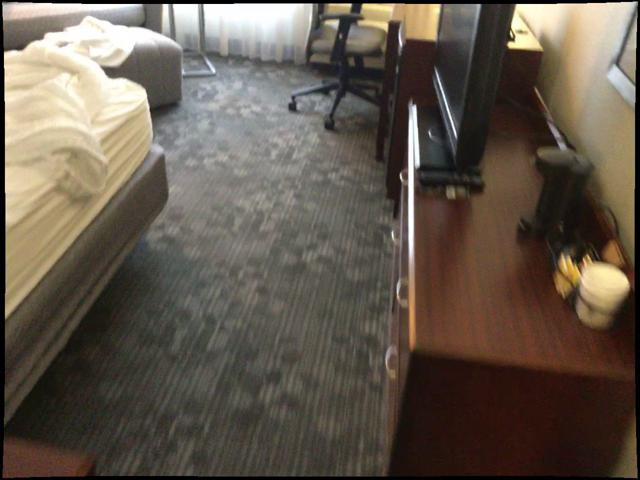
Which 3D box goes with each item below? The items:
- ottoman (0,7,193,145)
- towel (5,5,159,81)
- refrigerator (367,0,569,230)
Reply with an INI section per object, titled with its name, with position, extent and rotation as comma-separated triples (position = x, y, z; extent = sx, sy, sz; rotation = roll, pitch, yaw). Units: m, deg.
[ottoman]
position = -1.369, -1.041, 3.510
extent = 0.879, 0.450, 0.870
rotation = -18, 40, -28
[towel]
position = -1.369, -1.161, 3.350
extent = 0.670, 0.210, 0.520
rotation = -22, 42, -32
[refrigerator]
position = 0.609, -0.661, 2.670
extent = 0.639, 0.921, 0.700
rotation = 8, 35, 5
